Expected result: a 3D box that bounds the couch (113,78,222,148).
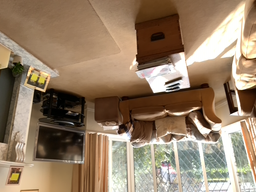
[{"bbox_3d":[0.690,0.400,3.900,1.690,0.850,0.960,-9,158,15],"label":"couch"}]
